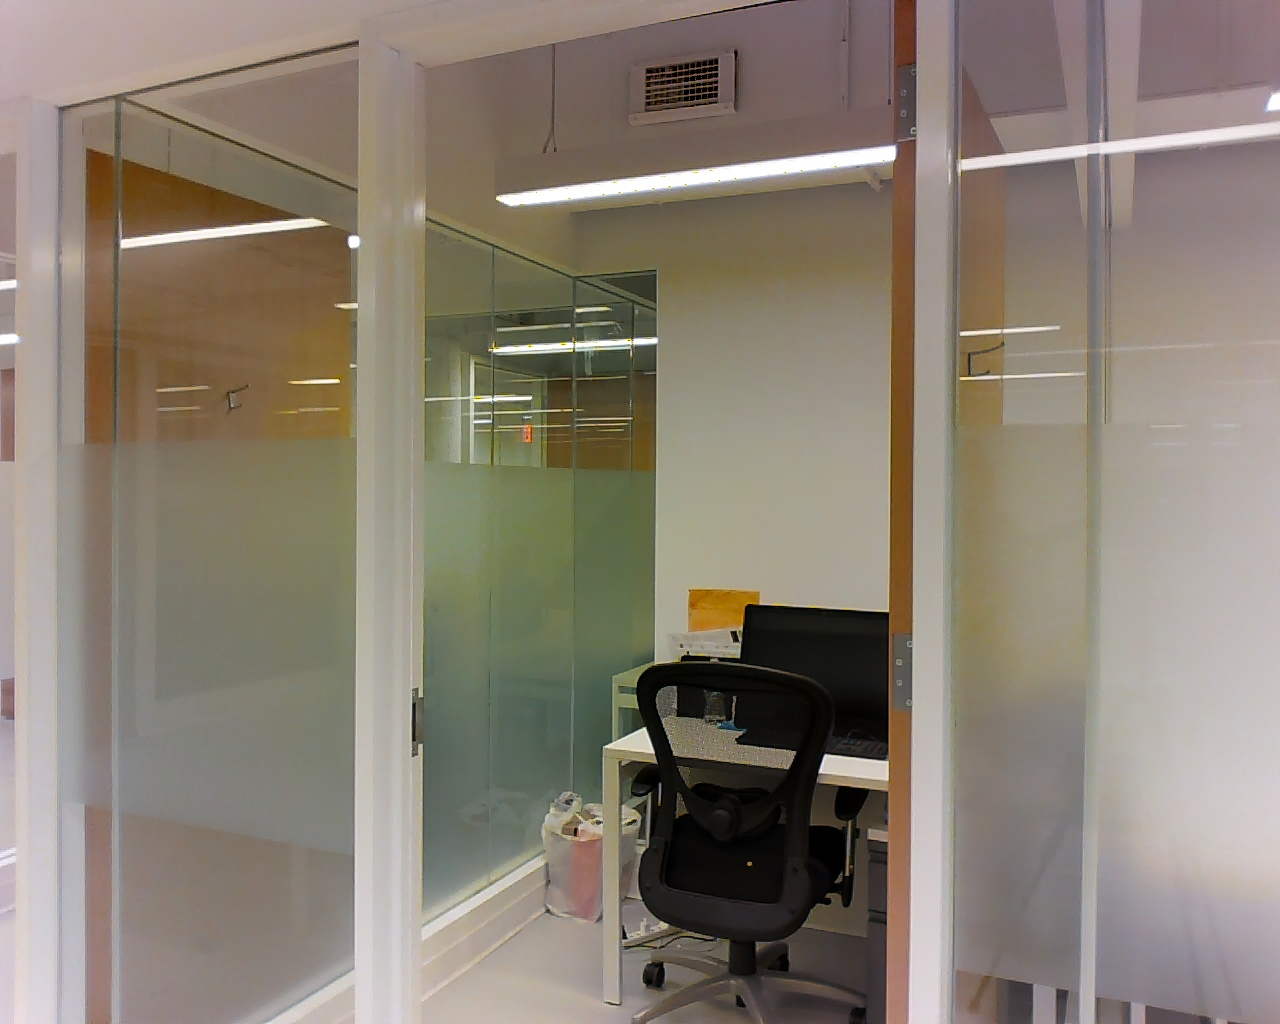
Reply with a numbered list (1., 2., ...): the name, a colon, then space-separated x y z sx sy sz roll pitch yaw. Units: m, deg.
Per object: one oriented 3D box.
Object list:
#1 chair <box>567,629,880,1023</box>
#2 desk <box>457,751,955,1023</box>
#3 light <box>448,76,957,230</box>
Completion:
1. chair: 0.270 0.910 3.040 0.660 1.040 0.790 1 1 23
2. desk: 0.220 1.060 2.420 0.830 0.750 1.020 1 1 23
3. light: 0.120 -0.900 2.760 1.320 0.170 0.200 1 0 24
